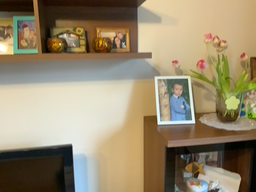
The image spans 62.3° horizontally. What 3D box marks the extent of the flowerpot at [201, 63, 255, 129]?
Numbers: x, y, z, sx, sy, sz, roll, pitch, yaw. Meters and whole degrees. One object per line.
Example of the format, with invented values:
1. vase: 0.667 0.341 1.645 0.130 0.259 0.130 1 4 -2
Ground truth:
1. flowerpot: 0.640 -0.020 1.270 0.260 0.340 0.270 -3 11 -13

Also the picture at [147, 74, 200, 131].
1. picture: 0.250 0.030 1.180 0.240 0.260 0.120 -10 12 -10
